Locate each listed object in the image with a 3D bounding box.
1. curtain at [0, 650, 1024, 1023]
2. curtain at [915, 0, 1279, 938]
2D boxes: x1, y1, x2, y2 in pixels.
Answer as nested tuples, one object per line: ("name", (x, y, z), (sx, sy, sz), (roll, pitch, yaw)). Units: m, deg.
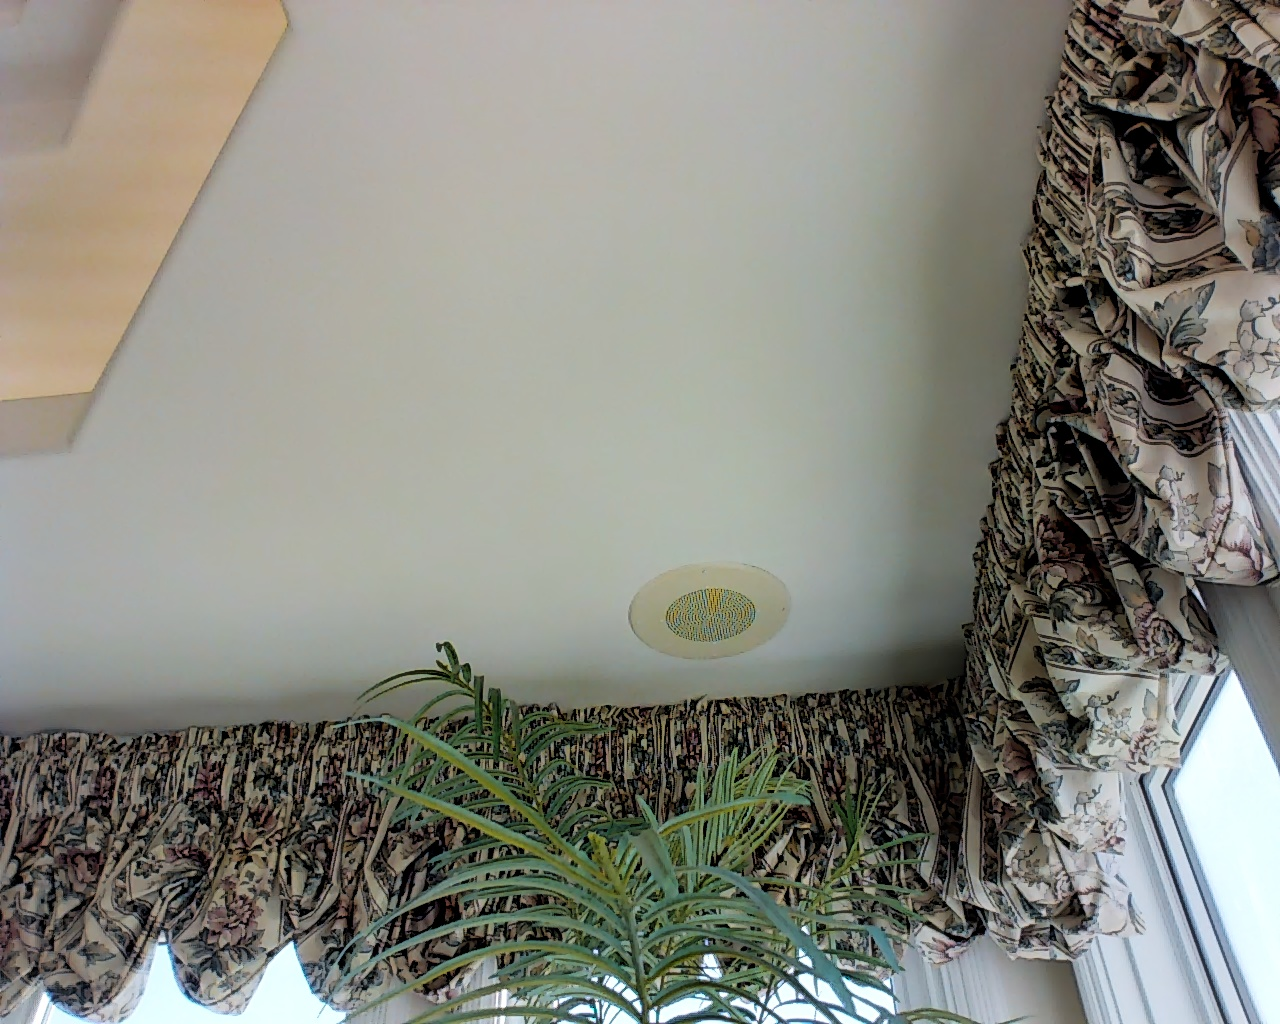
("curtain", (-1.630, 0.830, 2.330), (4.620, 0.650, 0.310), (-5, -41, 5))
("curtain", (0.450, -0.880, 0.500), (0.240, 0.590, 4.340), (-5, -41, 5))
